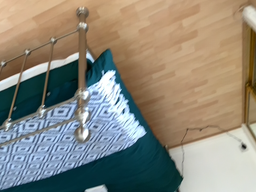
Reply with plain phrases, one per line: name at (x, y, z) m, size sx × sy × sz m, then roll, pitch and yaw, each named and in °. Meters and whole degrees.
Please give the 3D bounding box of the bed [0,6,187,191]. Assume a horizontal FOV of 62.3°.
bed at (-0.490, 0.550, 2.020) m, size 1.600 × 0.600 × 2.100 m, roll -21°, pitch 139°, yaw 12°
